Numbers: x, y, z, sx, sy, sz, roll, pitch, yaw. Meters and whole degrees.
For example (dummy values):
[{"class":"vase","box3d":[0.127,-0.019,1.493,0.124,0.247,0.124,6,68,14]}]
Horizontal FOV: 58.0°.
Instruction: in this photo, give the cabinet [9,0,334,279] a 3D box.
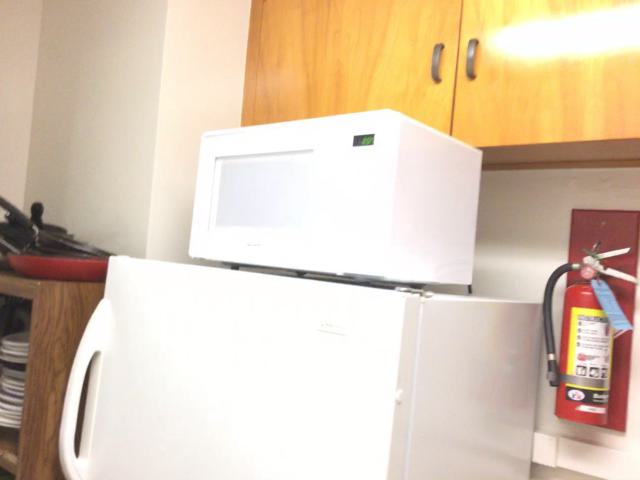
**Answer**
[{"class":"cabinet","box3d":[-0.470,-0.360,1.870,0.730,0.900,0.640,3,-2,38]}]
